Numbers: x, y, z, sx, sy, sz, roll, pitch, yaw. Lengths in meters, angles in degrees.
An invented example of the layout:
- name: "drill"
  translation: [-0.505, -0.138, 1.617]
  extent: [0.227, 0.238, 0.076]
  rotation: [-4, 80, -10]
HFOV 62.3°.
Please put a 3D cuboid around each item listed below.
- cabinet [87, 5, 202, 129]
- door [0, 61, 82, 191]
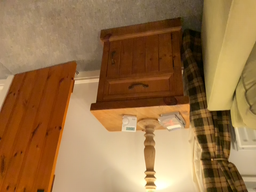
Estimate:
- name: "cabinet"
  translation: [0.130, -0.160, 1.400]
  extent: [0.580, 0.620, 0.440]
  rotation: [-4, 150, 13]
- name: "door"
  translation: [-0.750, 0.590, 1.380]
  extent: [0.630, 1.910, 0.080]
  rotation: [-5, 150, 14]
